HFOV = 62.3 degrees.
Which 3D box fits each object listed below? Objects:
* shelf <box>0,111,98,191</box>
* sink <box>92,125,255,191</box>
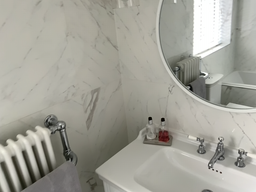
[{"bbox_3d":[-0.400,0.600,1.110,0.290,0.910,0.410,14,28,41],"label":"shelf"},{"bbox_3d":[0.360,0.440,1.040,1.000,0.140,0.530,12,28,39],"label":"sink"}]
